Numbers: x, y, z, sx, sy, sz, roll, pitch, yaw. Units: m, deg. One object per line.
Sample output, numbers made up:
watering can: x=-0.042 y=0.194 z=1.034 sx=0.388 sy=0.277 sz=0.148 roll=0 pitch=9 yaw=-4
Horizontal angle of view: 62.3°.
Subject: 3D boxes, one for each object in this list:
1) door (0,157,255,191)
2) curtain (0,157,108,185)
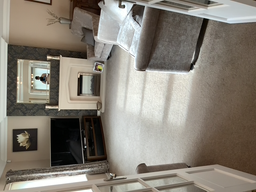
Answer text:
door: x=0.080 y=0.570 z=1.330 sx=0.550 sy=1.880 sz=0.070 roll=177 pitch=94 yaw=-67
curtain: x=-1.530 y=1.620 z=4.660 sx=0.340 sy=2.170 sz=0.250 roll=180 pitch=91 yaw=-67
